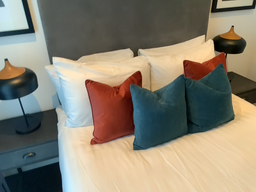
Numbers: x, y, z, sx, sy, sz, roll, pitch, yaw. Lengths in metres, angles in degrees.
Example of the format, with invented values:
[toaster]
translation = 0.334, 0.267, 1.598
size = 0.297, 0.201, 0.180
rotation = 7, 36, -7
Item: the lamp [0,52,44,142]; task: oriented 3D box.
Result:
[lamp]
translation = -0.770, 0.000, 1.490
size = 0.220, 0.520, 0.300
rotation = -13, 31, -17
